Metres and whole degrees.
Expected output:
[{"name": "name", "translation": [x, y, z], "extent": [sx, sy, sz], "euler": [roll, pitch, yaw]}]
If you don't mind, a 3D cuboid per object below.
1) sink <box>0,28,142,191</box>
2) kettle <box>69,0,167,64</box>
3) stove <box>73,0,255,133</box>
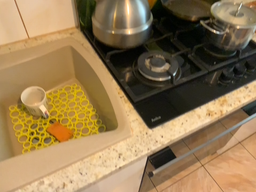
[{"name": "sink", "translation": [-0.250, 0.040, 0.690], "extent": [0.380, 0.210, 0.470], "euler": [-22, 55, -20]}, {"name": "kettle", "translation": [-0.050, -0.300, 0.740], "extent": [0.230, 0.190, 0.270], "euler": [-22, 55, -20]}, {"name": "stove", "translation": [0.180, -0.210, 0.810], "extent": [0.600, 0.050, 0.550], "euler": [-22, 55, -20]}]
